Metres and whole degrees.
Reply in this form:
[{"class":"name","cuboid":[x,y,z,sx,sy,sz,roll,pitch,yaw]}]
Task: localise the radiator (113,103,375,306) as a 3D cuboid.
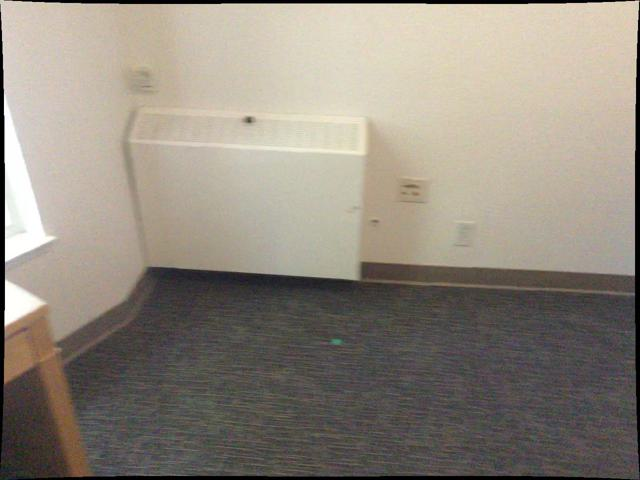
[{"class":"radiator","cuboid":[-0.280,-0.130,2.350,0.948,0.761,0.210,3,31,2]}]
